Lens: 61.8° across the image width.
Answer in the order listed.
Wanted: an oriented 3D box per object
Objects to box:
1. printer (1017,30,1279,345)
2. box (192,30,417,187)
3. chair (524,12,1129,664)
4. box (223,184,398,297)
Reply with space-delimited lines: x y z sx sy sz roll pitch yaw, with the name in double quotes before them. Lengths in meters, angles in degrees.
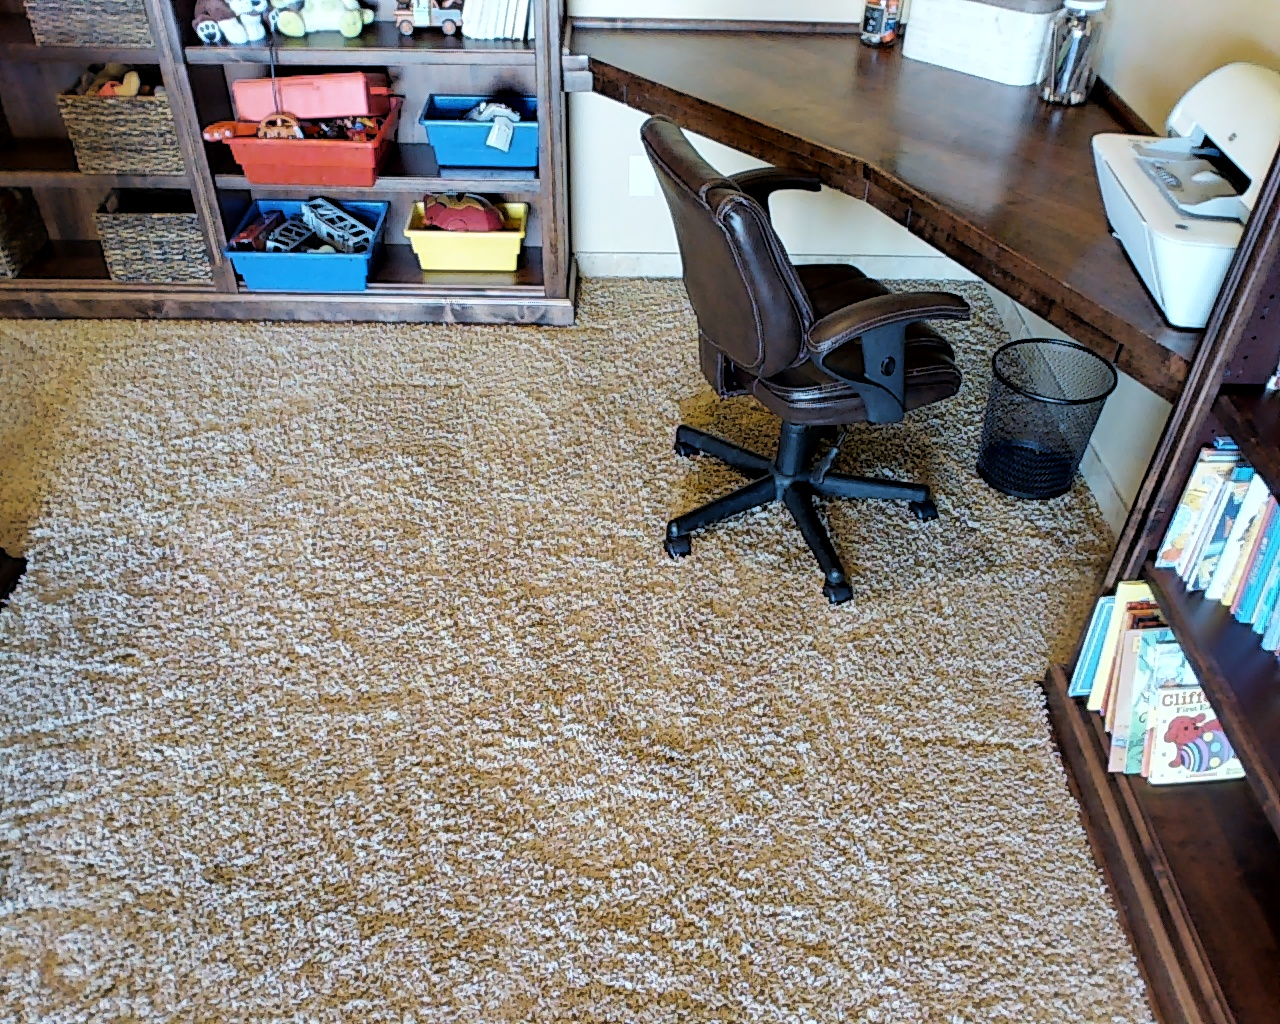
"printer" 0.890 -0.530 1.700 0.370 0.290 0.520 1 41 -1
"box" -0.830 -1.030 2.720 0.430 0.250 0.370 2 41 0
"chair" 0.290 -0.380 2.140 0.710 0.880 0.770 -23 46 -26
"box" -0.890 -0.750 2.940 0.380 0.170 0.330 0 41 -2
